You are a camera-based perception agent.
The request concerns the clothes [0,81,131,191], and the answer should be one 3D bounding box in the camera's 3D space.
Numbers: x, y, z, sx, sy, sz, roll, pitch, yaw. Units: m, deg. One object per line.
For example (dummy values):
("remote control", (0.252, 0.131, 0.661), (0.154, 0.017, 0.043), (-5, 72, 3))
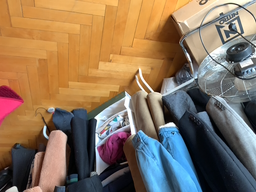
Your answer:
("clothes", (-0.420, 0.710, 1.470), (0.560, 1.400, 0.760), (-31, 132, 20))
